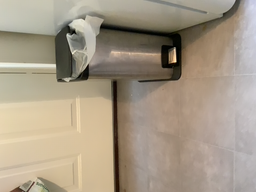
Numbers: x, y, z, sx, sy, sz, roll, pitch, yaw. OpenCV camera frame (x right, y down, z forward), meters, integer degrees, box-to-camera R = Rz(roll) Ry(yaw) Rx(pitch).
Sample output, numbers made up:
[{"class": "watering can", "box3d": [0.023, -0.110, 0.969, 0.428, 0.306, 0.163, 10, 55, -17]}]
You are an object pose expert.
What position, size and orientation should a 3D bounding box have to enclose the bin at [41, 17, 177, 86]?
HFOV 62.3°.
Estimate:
[{"class": "bin", "box3d": [-0.090, -0.150, 0.900, 0.360, 0.460, 0.200, 4, 97, 58]}]
